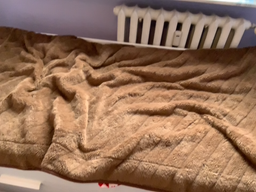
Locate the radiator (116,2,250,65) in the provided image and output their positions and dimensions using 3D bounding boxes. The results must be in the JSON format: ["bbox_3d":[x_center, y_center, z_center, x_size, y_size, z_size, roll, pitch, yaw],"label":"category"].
[{"bbox_3d":[0.330,-0.420,1.420,0.790,0.260,0.180,9,43,5],"label":"radiator"}]
